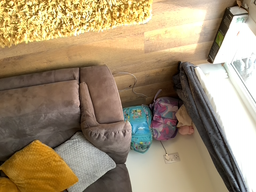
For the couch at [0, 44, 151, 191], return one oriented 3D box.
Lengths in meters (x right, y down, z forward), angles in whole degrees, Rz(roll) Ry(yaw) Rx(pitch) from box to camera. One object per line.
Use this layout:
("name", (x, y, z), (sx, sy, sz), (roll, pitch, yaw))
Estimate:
("couch", (-0.790, 0.500, 1.530), (1.720, 0.960, 1.040), (-12, 145, -3))
